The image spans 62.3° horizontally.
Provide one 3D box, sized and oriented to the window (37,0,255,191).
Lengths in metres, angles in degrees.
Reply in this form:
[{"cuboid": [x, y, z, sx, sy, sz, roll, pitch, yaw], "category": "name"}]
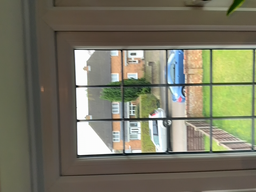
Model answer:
[{"cuboid": [0.190, -0.020, 0.710, 0.050, 0.920, 1.390, -127, 36, -84], "category": "window"}]
